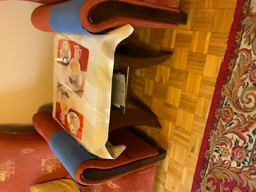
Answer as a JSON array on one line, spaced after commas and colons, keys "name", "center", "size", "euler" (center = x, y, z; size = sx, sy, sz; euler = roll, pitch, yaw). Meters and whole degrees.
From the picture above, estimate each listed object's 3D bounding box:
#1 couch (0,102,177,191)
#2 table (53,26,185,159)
[{"name": "couch", "center": [-0.410, 0.640, 1.570], "size": [0.930, 1.020, 0.850], "euler": [27, 115, 48]}, {"name": "table", "center": [-0.130, -0.100, 1.510], "size": [0.760, 0.540, 0.660], "euler": [27, 115, 48]}]
